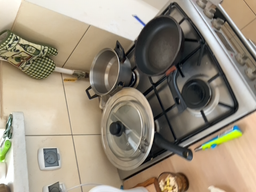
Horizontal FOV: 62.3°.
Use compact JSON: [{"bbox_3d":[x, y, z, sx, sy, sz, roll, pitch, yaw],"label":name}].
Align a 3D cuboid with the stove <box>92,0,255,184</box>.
[{"bbox_3d":[0.130,-0.010,0.870,0.610,0.160,0.520,-43,54,36],"label":"stove"}]
